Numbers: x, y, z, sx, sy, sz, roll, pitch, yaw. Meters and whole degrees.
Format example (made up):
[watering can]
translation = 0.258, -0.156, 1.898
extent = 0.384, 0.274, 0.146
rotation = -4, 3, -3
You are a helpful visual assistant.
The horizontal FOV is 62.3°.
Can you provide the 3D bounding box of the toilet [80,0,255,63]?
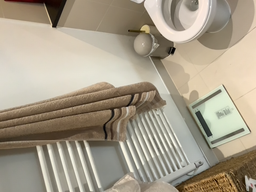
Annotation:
[toilet]
translation = 0.220, -0.520, 1.180
extent = 0.390, 0.830, 0.520
rotation = -45, 61, 42
